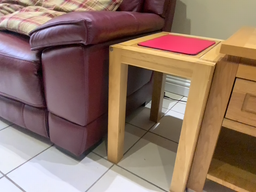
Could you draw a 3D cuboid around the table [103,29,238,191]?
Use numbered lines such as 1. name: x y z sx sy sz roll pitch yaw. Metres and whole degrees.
1. table: 0.190 0.020 0.920 0.340 0.510 0.520 18 29 26
